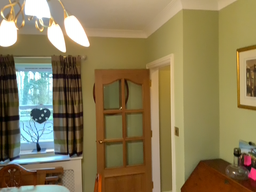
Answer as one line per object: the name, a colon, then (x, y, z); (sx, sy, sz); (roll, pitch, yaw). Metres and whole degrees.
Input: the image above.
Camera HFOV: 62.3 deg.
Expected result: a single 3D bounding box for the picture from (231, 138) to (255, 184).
picture: (0.930, 0.500, 1.670); (0.090, 0.270, 0.240); (-2, 3, -11)
